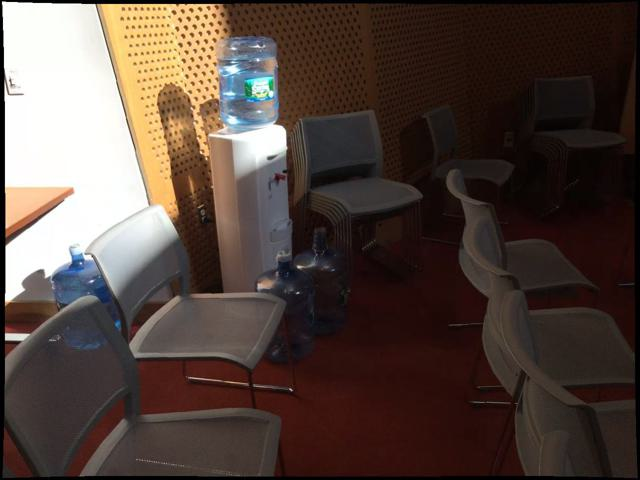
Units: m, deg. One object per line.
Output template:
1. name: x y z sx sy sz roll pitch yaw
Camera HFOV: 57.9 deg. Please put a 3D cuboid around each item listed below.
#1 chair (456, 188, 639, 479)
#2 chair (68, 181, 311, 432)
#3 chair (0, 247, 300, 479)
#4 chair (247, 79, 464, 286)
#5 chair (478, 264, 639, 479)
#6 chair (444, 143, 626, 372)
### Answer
1. chair: 0.779 0.300 1.890 0.579 0.731 0.540 -4 30 6
2. chair: -0.390 0.210 2.040 0.539 0.640 0.570 0 30 13
3. chair: -0.380 0.511 1.440 0.519 0.781 0.540 -4 30 6
4. chair: 0.180 -0.370 3.140 0.759 0.681 0.910 -20 32 -21
5. chair: 0.729 0.541 1.450 0.549 0.801 0.500 -4 30 6
6. chair: 0.829 0.070 2.400 0.539 0.751 0.520 -4 30 6
